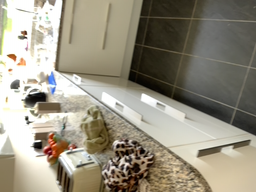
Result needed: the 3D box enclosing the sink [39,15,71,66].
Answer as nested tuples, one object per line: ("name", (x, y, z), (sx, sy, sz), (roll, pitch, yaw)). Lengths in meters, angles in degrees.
("sink", (-0.780, -0.590, 2.230), (0.430, 0.150, 0.460), (28, 112, 50))
